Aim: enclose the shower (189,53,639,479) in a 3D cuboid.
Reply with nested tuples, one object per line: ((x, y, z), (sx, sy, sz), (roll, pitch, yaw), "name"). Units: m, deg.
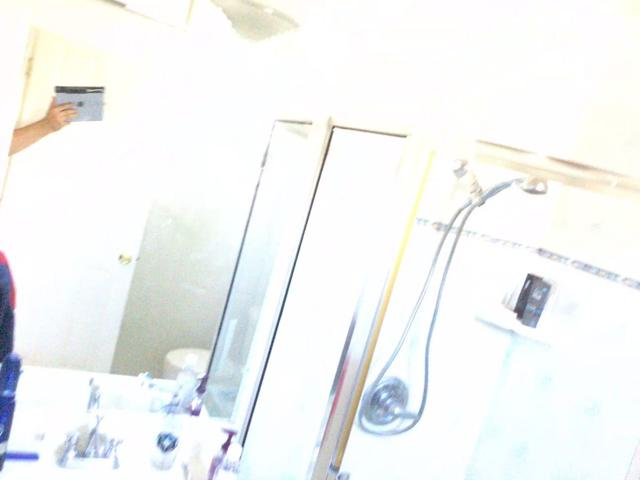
((0.330, 0.670, 1.590), (1.080, 1.950, 0.790), (18, 3, 21), "shower")
